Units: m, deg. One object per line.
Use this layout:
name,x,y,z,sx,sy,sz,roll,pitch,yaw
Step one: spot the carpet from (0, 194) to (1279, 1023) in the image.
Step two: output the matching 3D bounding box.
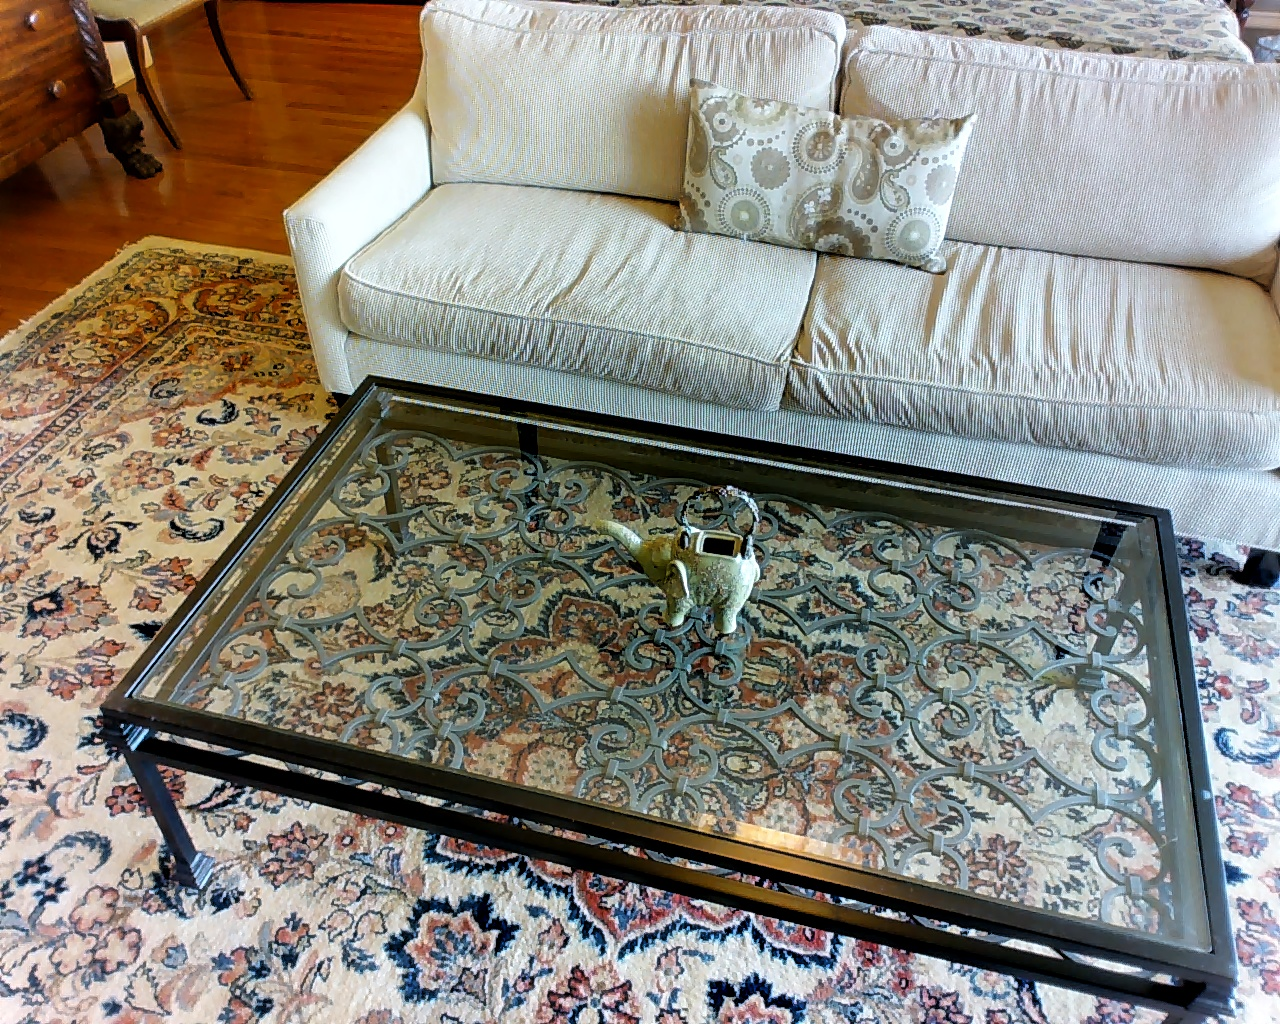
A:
carpet,0.090,0.340,1.980,4.190,0.070,2.930,10,43,10

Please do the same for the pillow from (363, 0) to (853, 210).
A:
pillow,-0.060,-1.050,2.570,1.050,0.370,0.410,10,43,10

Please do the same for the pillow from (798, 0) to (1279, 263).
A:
pillow,0.930,-0.870,2.360,1.080,0.380,0.380,10,43,9

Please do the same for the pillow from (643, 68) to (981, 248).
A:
pillow,0.370,-0.780,2.380,0.680,0.290,0.150,10,14,10
